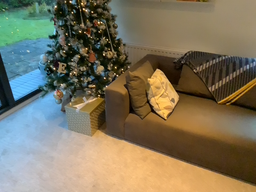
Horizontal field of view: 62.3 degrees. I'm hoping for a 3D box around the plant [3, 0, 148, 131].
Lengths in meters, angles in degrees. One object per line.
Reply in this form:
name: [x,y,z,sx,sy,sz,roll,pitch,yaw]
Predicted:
plant: [-0.500,-0.850,2.480,1.080,1.980,1.150,14,33,22]
